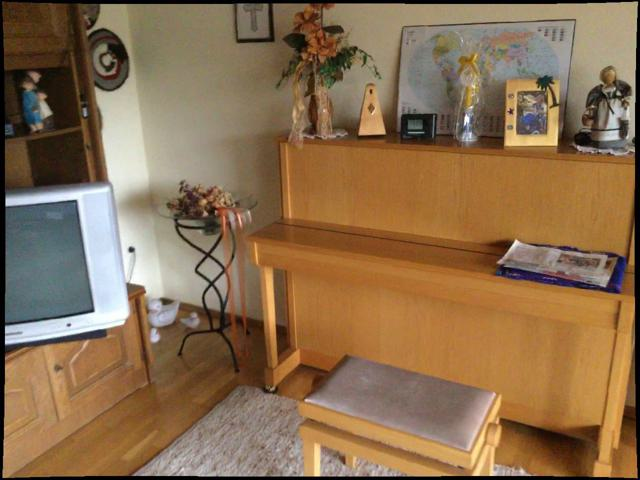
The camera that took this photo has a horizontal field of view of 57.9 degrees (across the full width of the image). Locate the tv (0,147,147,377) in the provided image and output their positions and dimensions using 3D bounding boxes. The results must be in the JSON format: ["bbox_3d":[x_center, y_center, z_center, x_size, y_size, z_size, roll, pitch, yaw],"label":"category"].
[{"bbox_3d":[-1.069,0.050,2.160,0.709,0.641,0.630,-5,21,-12],"label":"tv"}]
